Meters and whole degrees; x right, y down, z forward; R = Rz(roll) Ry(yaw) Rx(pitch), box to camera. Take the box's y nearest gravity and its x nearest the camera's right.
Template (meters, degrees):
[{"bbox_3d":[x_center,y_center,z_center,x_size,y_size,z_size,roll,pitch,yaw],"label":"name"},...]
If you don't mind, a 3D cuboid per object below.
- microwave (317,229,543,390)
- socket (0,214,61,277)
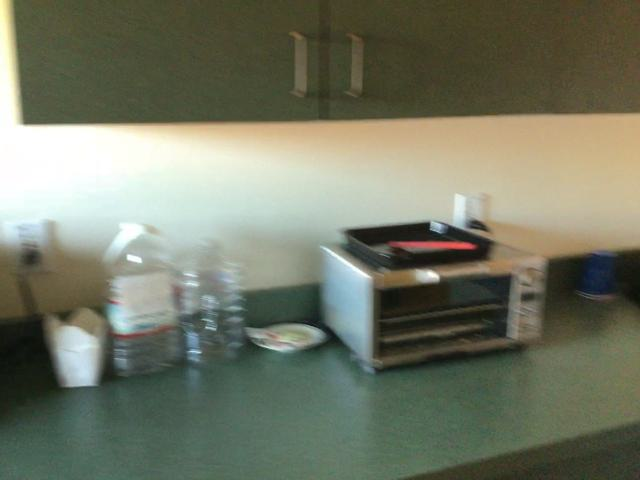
[{"bbox_3d":[0.230,0.130,1.290,0.370,0.200,0.320,-12,12,-16],"label":"microwave"},{"bbox_3d":[-0.580,0.010,1.160,0.090,0.110,0.040,-9,12,-20],"label":"socket"}]
